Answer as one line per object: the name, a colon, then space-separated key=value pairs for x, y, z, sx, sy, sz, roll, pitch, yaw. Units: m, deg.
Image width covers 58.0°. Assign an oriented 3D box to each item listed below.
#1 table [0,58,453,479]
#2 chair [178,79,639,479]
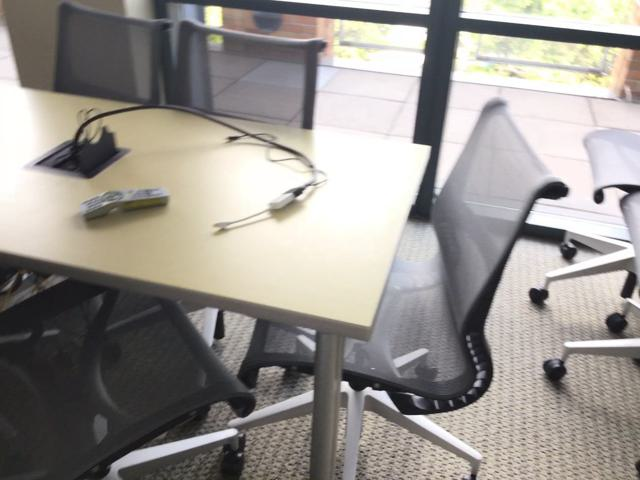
table: x=-1.250 y=-0.010 z=1.610 sx=2.990 sy=0.800 sz=0.940 roll=11 pitch=32 yaw=14
chair: x=0.130 y=0.190 z=1.300 sx=0.640 sy=0.890 sz=0.640 roll=5 pitch=31 yaw=4
